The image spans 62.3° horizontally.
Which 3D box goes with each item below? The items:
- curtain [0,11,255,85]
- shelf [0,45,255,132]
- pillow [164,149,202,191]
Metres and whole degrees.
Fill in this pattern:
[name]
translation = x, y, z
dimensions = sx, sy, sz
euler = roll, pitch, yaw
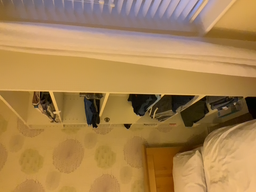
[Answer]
[curtain]
translation = 0.120, -0.230, 1.210
dimensions = 0.280, 2.160, 0.200
euler = 122, 147, -66
[shelf]
translation = 0.120, 0.040, 1.810
dimensions = 1.020, 2.010, 0.290
euler = 122, 146, -66
[pillow]
translation = 0.490, 0.810, 1.870
dimensions = 0.350, 0.140, 0.630
euler = 124, 145, -67
